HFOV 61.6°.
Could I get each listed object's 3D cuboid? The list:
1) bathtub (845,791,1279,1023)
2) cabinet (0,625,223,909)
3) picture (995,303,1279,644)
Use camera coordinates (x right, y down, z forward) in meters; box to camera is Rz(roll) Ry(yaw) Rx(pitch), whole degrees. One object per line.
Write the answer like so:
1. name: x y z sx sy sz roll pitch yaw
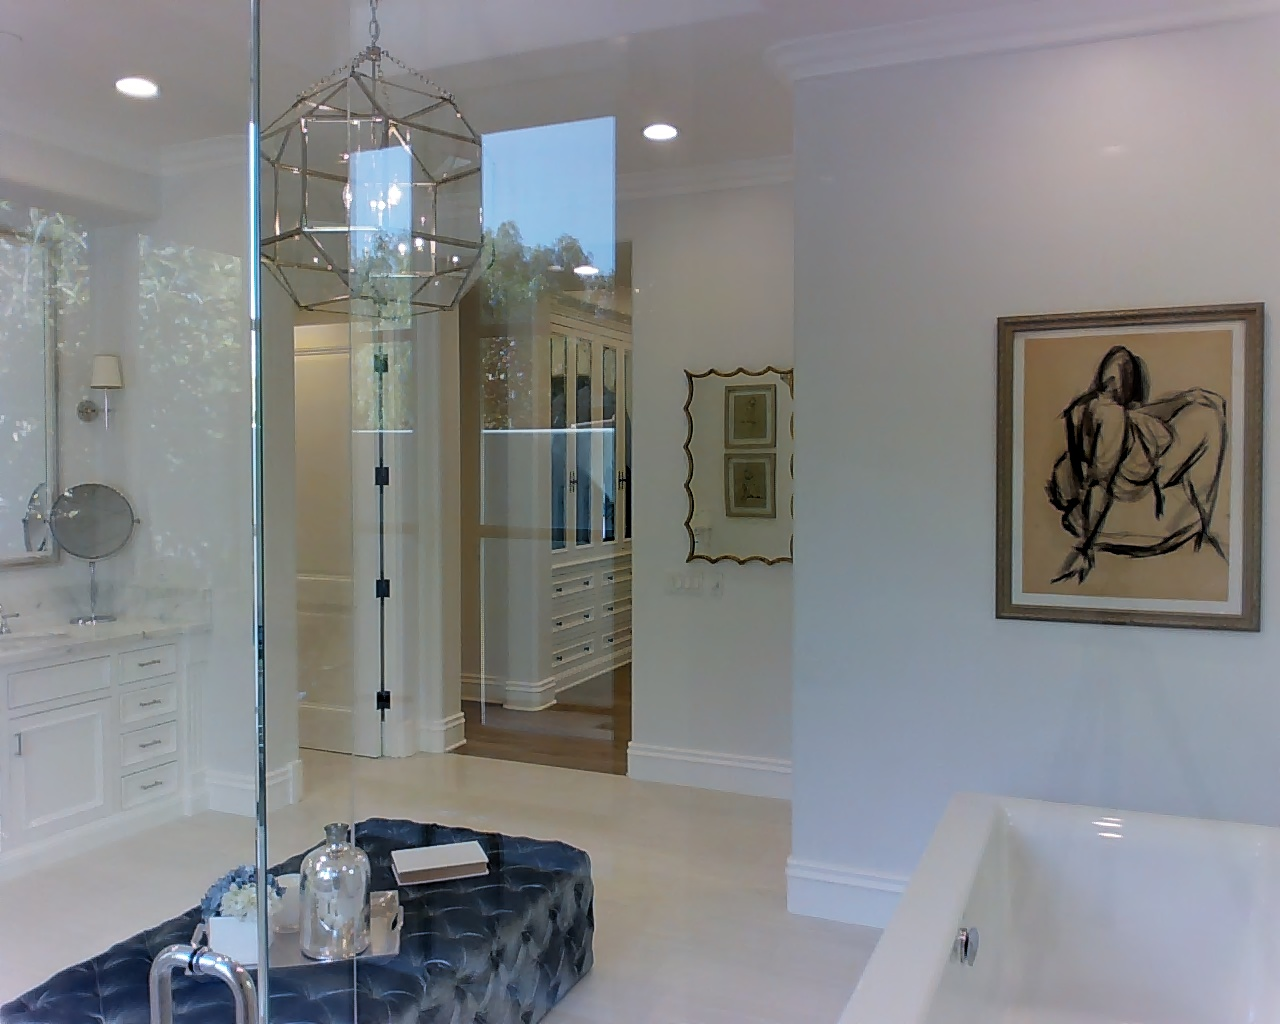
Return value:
1. bathtub: 1.120 1.230 2.280 1.080 0.650 1.830 1 3 25
2. cabinet: -2.629 1.050 4.540 0.710 0.900 1.550 1 3 24
3. picture: 1.599 -0.120 3.420 0.880 1.030 0.040 1 3 24
